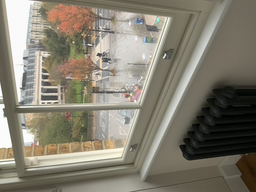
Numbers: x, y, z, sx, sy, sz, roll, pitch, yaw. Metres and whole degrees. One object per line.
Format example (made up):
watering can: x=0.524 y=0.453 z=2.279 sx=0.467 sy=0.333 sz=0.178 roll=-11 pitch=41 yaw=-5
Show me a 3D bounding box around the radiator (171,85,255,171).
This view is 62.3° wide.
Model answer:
radiator: x=0.640 y=0.190 z=1.210 sx=0.120 sy=0.630 sz=0.550 roll=-111 pitch=28 yaw=-44
